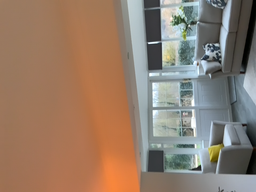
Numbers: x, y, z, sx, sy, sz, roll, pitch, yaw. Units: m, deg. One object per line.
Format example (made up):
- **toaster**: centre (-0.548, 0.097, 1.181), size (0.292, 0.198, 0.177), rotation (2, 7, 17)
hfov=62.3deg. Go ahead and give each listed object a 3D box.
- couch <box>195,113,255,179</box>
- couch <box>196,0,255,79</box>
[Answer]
- **couch**: centre (2.010, 1.050, 4.550), size (0.970, 0.890, 0.960), rotation (-79, -16, -54)
- **couch**: centre (1.990, -1.460, 4.380), size (0.880, 0.880, 2.020), rotation (-78, -16, -55)
